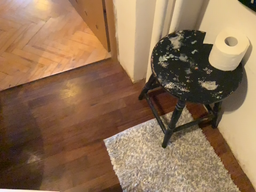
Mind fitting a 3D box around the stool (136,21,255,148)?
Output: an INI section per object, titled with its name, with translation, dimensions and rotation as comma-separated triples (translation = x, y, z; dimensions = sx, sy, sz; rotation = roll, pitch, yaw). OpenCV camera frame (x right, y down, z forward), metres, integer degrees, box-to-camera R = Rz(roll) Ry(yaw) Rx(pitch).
[stool]
translation = 0.260, -0.030, 1.000
dimensions = 0.320, 0.430, 0.340
rotation = -19, 62, -11
